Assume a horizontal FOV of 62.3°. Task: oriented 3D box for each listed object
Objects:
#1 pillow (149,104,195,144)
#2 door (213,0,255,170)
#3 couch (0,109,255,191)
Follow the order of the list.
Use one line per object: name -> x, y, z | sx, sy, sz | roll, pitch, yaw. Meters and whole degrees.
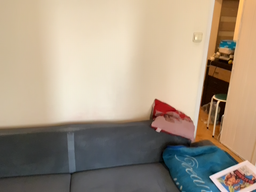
pillow -> 0.350, 0.220, 1.780 | 0.320, 0.200, 0.310 | 3, 18, 2
door -> 1.340, -0.290, 2.380 | 0.060, 2.200, 0.620 | -2, 19, -12
couch -> -0.370, 0.680, 1.340 | 2.520, 0.730, 1.040 | -2, 19, -13
